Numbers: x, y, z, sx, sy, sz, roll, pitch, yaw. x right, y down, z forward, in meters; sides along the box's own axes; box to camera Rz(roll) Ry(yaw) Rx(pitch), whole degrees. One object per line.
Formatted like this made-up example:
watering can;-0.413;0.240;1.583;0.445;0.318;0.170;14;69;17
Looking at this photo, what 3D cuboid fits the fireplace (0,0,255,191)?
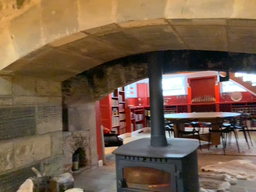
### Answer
fireplace;0.170;0.430;2.090;3.010;2.290;1.940;-3;-2;25
